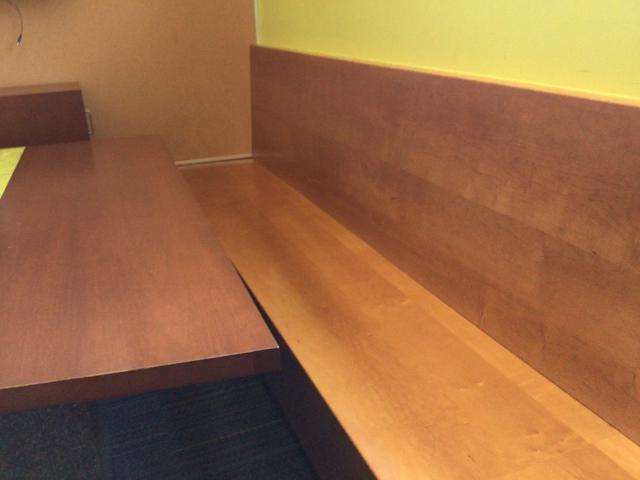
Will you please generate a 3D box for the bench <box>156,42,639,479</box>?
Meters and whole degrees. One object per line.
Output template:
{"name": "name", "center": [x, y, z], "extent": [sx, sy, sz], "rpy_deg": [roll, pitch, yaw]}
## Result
{"name": "bench", "center": [0.360, 0.110, 0.790], "extent": [0.520, 0.670, 4.260], "rpy_deg": [-8, 21, -21]}
